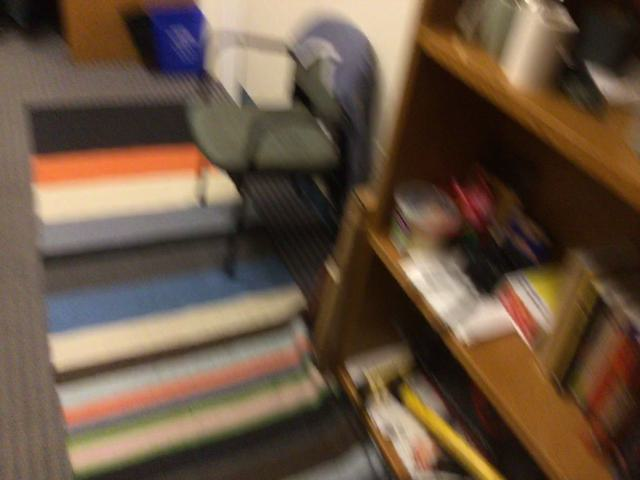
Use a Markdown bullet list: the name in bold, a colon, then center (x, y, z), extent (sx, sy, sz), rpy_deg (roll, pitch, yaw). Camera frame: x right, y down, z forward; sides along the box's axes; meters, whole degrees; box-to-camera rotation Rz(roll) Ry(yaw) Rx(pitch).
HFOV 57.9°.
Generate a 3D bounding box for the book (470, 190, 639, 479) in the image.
- **book**: center (0.610, 0.210, 1.100), extent (0.230, 0.300, 0.580), rpy_deg (-12, 46, -29)
